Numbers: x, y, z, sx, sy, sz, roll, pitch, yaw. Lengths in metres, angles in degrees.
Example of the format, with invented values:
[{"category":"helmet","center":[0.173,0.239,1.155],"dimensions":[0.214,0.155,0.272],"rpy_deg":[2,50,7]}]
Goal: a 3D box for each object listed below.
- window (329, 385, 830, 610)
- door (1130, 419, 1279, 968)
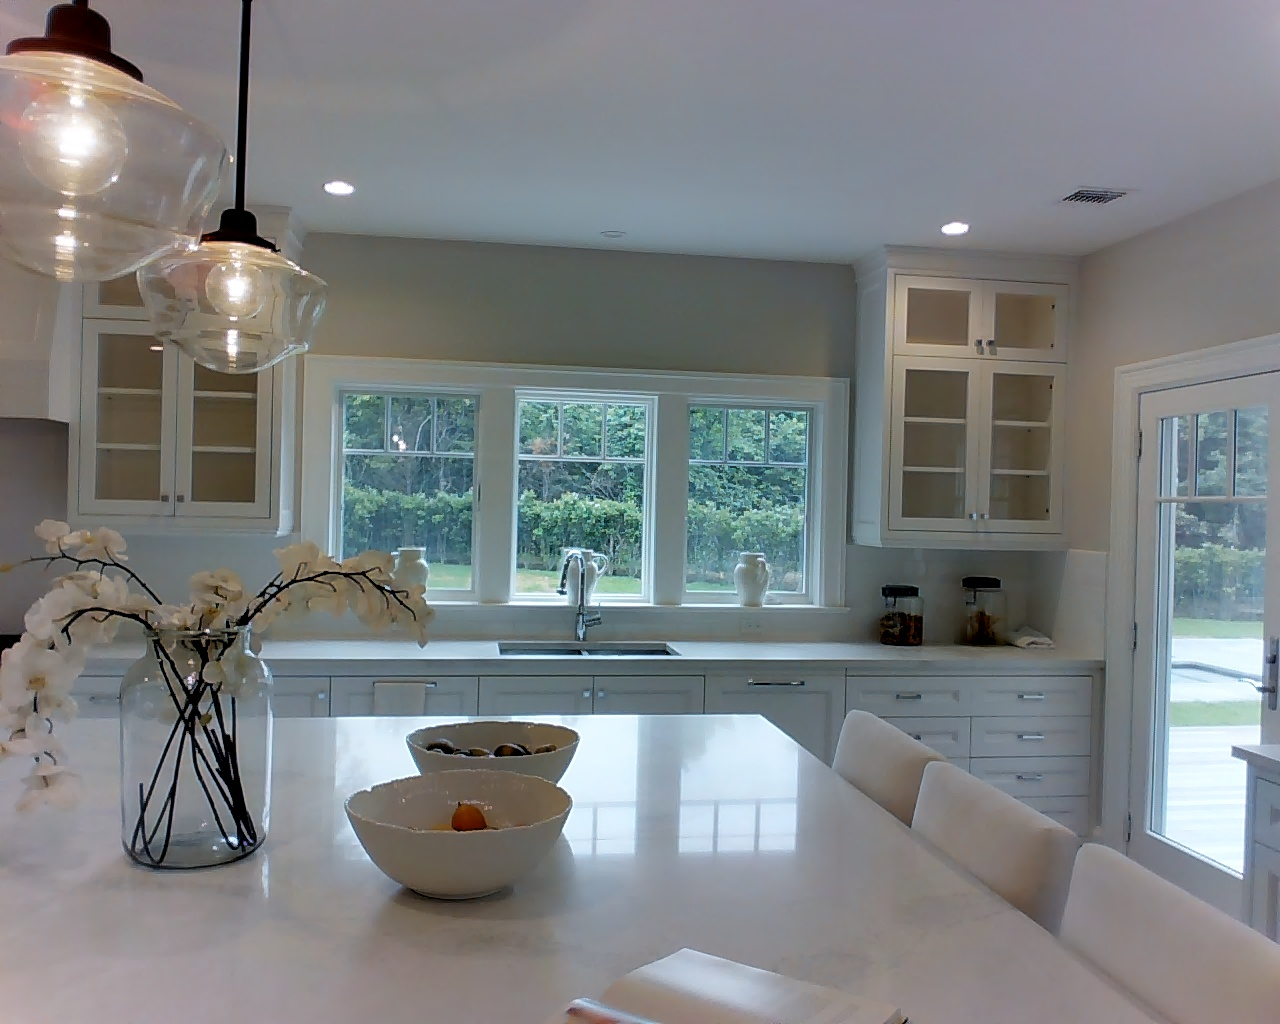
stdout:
[{"category":"window","center":[-0.260,-0.050,5.100],"dimensions":[2.300,0.990,0.260],"rpy_deg":[1,0,-9]},{"category":"door","center":[2.140,0.630,4.120],"dimensions":[0.030,1.910,0.760],"rpy_deg":[1,0,-9]}]
